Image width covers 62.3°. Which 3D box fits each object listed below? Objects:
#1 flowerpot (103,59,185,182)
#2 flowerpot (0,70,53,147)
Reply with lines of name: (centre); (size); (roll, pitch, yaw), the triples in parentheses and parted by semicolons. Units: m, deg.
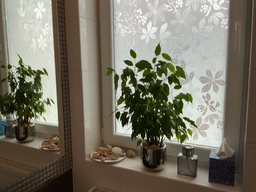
flowerpot: (0.090, 0.100, 1.160); (0.370, 0.580, 0.230); (4, 9, 27)
flowerpot: (-0.840, 0.070, 1.650); (0.470, 0.530, 0.190); (4, 9, 27)
